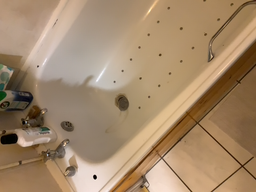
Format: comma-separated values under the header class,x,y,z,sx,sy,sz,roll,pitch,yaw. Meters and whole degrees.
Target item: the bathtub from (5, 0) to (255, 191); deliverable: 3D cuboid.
class,x,y,z,sx,sy,sz,roll,pitch,yaw
bathtub,0.240,-0.360,0.940,0.700,0.560,1.680,46,109,20
